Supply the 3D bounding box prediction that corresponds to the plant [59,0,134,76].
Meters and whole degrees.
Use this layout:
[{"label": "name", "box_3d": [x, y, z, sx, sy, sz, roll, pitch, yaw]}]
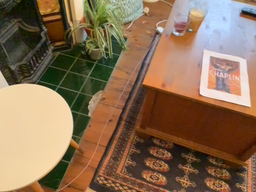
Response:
[{"label": "plant", "box_3d": [-0.210, -0.520, 1.640, 0.360, 0.440, 0.480, 17, 54, 7]}]
